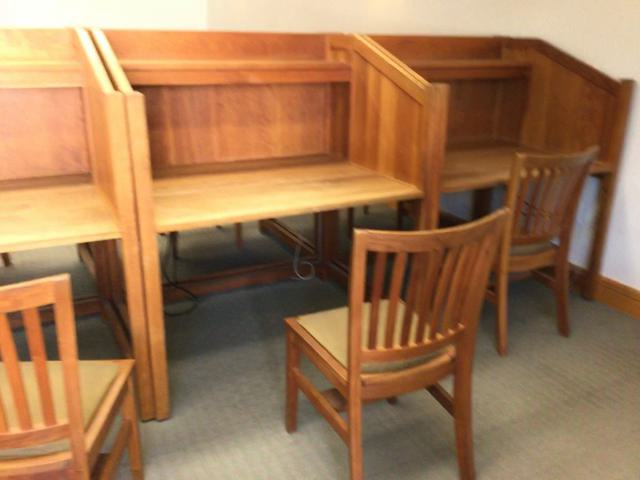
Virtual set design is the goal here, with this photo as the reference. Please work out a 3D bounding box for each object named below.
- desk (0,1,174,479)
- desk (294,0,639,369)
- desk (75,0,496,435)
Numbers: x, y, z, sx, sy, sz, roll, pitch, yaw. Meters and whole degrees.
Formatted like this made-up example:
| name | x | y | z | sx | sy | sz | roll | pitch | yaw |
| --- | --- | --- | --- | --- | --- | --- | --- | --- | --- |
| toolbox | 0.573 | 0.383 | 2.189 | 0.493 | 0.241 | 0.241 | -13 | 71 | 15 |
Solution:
| name | x | y | z | sx | sy | sz | roll | pitch | yaw |
| --- | --- | --- | --- | --- | --- | --- | --- | --- | --- |
| desk | -1.320 | -0.060 | 2.050 | 1.320 | 1.480 | 1.010 | -2 | 18 | -27 |
| desk | 0.780 | -0.330 | 3.010 | 1.410 | 1.460 | 1.190 | -2 | 11 | -26 |
| desk | -0.270 | -0.220 | 2.600 | 1.440 | 1.510 | 1.080 | -2 | 18 | -27 |
